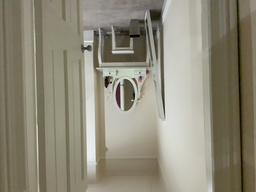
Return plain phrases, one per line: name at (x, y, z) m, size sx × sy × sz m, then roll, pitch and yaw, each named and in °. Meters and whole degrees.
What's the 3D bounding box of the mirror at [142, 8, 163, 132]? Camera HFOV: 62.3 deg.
mirror at (0.360, -0.360, 3.130) m, size 0.220 × 1.680 × 0.460 m, roll -2°, pitch -173°, yaw -2°
